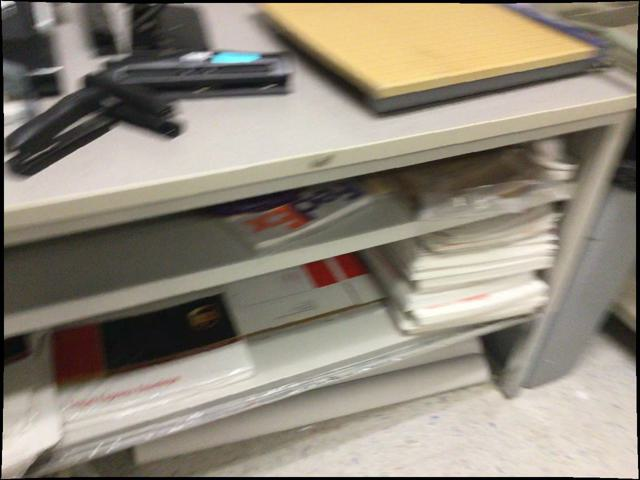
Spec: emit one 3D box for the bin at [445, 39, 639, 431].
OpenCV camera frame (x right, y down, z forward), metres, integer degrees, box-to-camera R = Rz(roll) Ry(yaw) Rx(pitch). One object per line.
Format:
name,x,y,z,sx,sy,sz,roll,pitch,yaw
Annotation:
bin,0.628,-0.020,1.500,0.339,0.811,0.520,-16,35,-15

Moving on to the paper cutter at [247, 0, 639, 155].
paper cutter,0.190,-0.411,1.070,0.499,0.170,0.620,-16,35,-15
